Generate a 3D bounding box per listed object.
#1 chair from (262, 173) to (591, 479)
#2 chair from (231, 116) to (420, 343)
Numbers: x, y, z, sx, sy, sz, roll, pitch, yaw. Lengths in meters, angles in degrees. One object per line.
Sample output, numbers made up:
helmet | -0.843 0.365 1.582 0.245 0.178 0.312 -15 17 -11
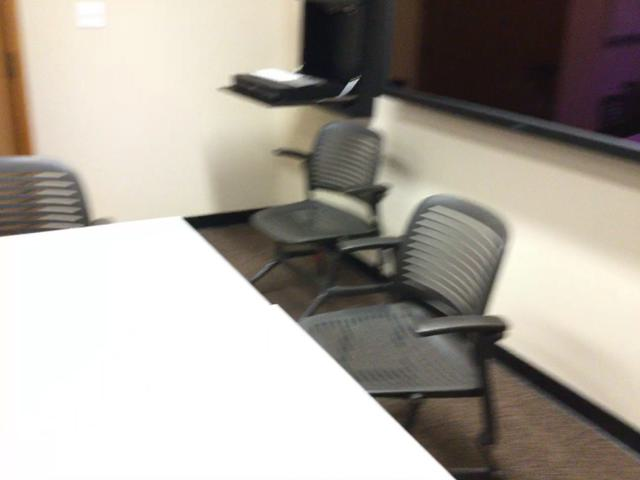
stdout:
chair | 0.230 0.320 1.680 0.510 0.860 0.640 -7 25 -30
chair | -0.010 -0.080 2.510 0.540 0.800 0.530 -7 25 -30
